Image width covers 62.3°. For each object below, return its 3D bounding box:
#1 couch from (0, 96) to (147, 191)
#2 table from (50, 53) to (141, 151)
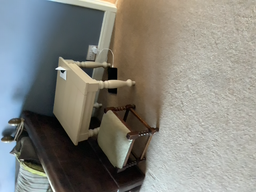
[{"bbox_3d":[-0.780,1.200,2.220,1.050,0.870,2.100,43,125,40],"label":"couch"},{"bbox_3d":[-0.330,0.020,1.920,0.560,0.500,0.610,43,125,40],"label":"table"}]
